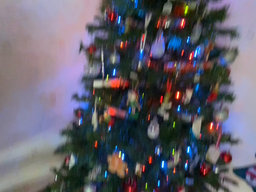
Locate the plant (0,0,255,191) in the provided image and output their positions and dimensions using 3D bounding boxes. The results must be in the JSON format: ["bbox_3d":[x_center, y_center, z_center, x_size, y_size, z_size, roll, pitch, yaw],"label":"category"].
[{"bbox_3d":[0.120,-0.020,0.960,0.960,1.700,0.910,-27,44,-38],"label":"plant"}]
